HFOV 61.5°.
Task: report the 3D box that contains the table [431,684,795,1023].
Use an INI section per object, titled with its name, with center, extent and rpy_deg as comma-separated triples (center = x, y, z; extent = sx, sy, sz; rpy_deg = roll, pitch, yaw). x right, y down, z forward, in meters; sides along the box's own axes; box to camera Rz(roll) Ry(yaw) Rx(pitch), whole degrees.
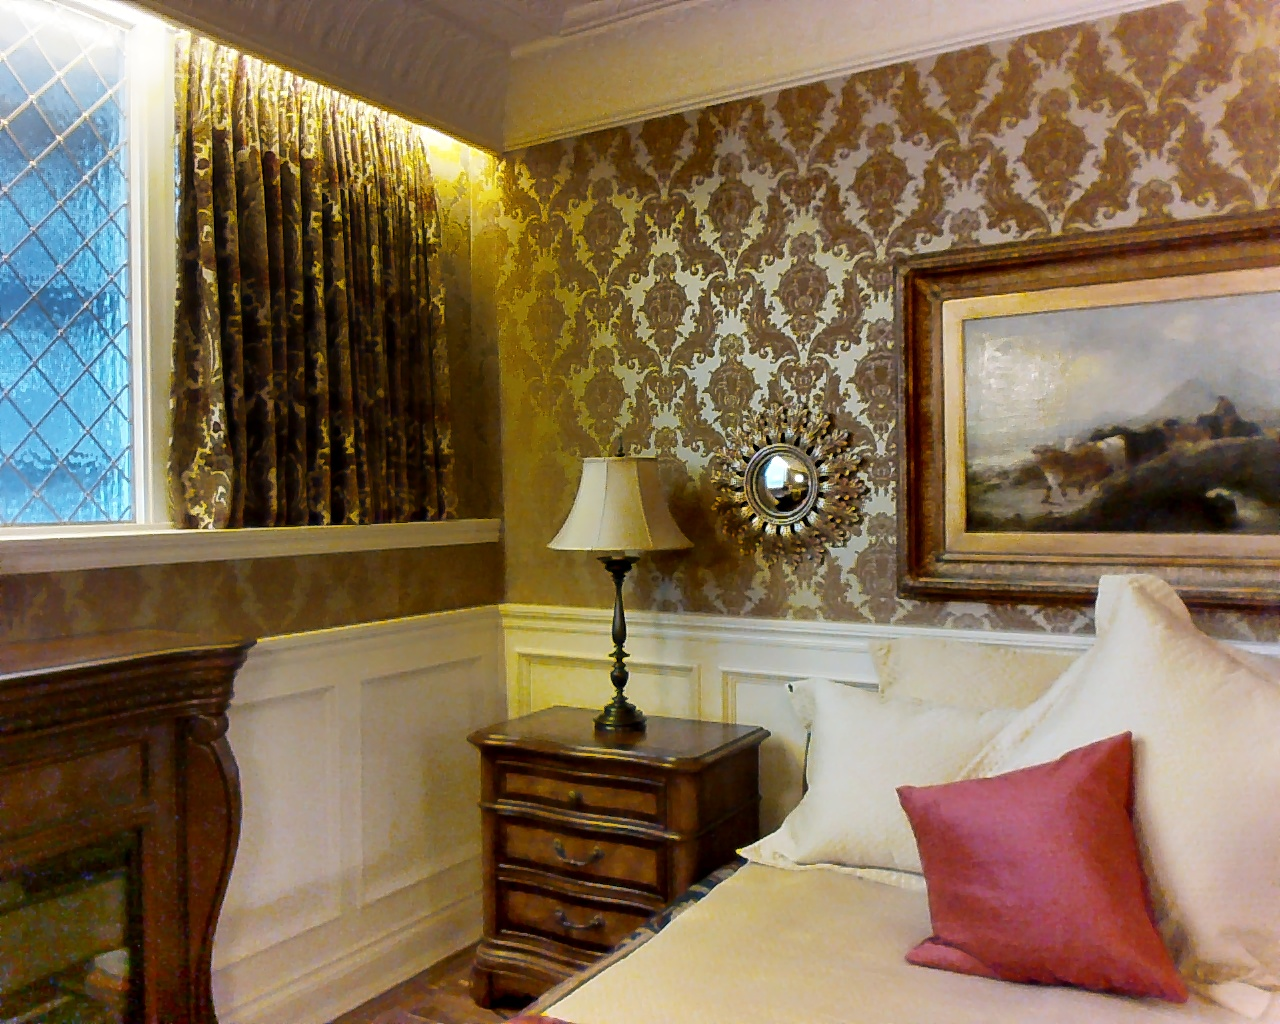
[table]
center = -0.080, 0.950, 3.070
extent = 0.900, 0.770, 0.500
rpy_deg = 0, 1, 32

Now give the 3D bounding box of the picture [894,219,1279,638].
[picture]
center = 1.250, -0.180, 2.500
extent = 1.300, 0.910, 0.120
rpy_deg = 0, 1, 32

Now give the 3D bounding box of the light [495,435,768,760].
[light]
center = -0.020, 0.210, 3.040
extent = 0.590, 0.810, 0.480
rpy_deg = 0, 1, 35
